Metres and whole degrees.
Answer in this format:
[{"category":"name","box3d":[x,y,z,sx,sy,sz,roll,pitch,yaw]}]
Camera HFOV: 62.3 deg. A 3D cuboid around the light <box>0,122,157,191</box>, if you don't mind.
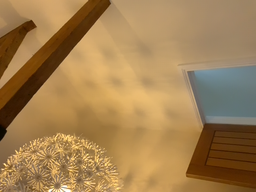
[{"category":"light","box3d":[-0.950,0.740,1.900,1.100,2.110,0.900,11,-101,-58]}]
